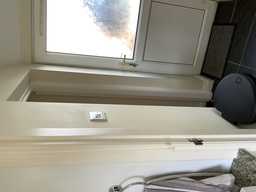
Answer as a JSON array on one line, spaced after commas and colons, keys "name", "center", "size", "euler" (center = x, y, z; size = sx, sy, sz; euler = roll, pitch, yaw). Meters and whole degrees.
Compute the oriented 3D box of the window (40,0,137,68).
[{"name": "window", "center": [-0.400, -0.680, 2.170], "size": [0.050, 0.920, 0.710], "euler": [-131, 46, -67]}]
